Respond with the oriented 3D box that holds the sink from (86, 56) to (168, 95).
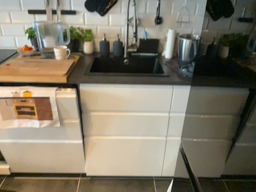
[{"bbox_3d":[-0.010,-0.170,1.650,0.560,0.160,0.360,2,27,-1],"label":"sink"}]
